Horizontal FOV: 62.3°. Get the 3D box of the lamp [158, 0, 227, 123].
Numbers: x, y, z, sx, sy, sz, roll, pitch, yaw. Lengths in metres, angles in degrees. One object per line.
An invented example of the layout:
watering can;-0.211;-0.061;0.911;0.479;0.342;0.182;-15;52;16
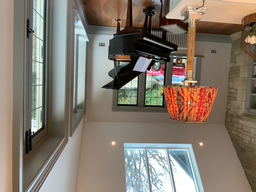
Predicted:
lamp;0.450;-0.230;1.550;0.370;0.810;0.230;2;-176;-6
